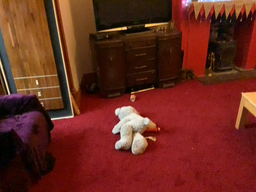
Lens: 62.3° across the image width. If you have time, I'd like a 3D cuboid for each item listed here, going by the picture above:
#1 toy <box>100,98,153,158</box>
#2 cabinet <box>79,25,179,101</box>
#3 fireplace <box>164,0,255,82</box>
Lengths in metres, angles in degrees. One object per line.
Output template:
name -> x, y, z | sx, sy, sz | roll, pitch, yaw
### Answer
toy -> -0.050, 0.320, 2.420 | 0.470, 0.230, 0.760 | -5, 27, -8
cabinet -> 0.020, -0.570, 3.390 | 1.390, 0.900, 0.580 | -10, 28, -15
fireplace -> 1.640, -1.070, 3.870 | 1.720, 1.250, 0.770 | -7, 27, -9
